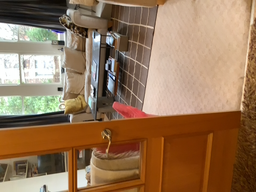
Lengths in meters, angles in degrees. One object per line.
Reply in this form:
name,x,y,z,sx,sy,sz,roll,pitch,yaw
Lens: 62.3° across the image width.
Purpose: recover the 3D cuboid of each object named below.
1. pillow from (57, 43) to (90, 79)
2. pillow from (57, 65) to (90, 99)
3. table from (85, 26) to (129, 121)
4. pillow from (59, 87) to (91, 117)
pillow,-1.090,-0.700,4.290,0.260,0.480,0.520,50,159,40
pillow,-1.140,-0.300,4.470,0.220,0.450,0.540,42,156,50
table,-0.380,-0.350,3.470,0.520,0.450,1.420,-132,45,-57
pillow,-1.110,0.110,4.400,0.520,0.480,0.190,46,157,46
